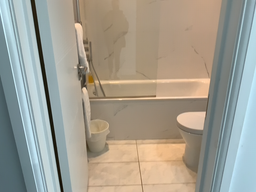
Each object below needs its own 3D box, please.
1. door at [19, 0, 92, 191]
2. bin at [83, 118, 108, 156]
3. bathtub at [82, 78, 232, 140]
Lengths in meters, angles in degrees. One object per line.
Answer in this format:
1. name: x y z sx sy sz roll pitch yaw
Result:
1. door: -0.330 -0.040 1.190 0.040 1.970 0.830 -1 22 -3
2. bin: -0.340 0.430 2.270 0.230 0.290 0.270 -2 22 -4
3. bathtub: 0.310 0.130 2.700 1.640 0.520 0.680 -1 22 -3
